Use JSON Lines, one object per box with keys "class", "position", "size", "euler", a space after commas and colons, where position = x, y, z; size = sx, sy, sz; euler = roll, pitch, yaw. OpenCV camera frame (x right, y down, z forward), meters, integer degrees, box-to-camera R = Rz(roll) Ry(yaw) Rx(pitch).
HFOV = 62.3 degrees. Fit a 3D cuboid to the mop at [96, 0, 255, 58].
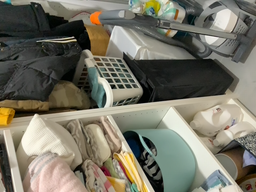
{"class": "mop", "position": [0.310, -0.430, 1.140], "size": [0.400, 0.840, 0.230], "euler": [55, 135, 35]}
